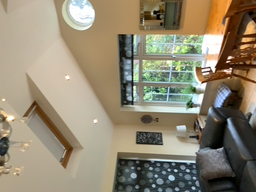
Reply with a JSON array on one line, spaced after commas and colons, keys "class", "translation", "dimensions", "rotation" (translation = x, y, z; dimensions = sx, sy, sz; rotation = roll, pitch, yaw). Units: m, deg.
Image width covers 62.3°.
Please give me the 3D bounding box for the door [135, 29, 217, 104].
[{"class": "door", "translation": [0.790, -0.490, 3.940], "dimensions": [0.160, 1.320, 1.440], "rotation": [-83, -6, -55]}]
